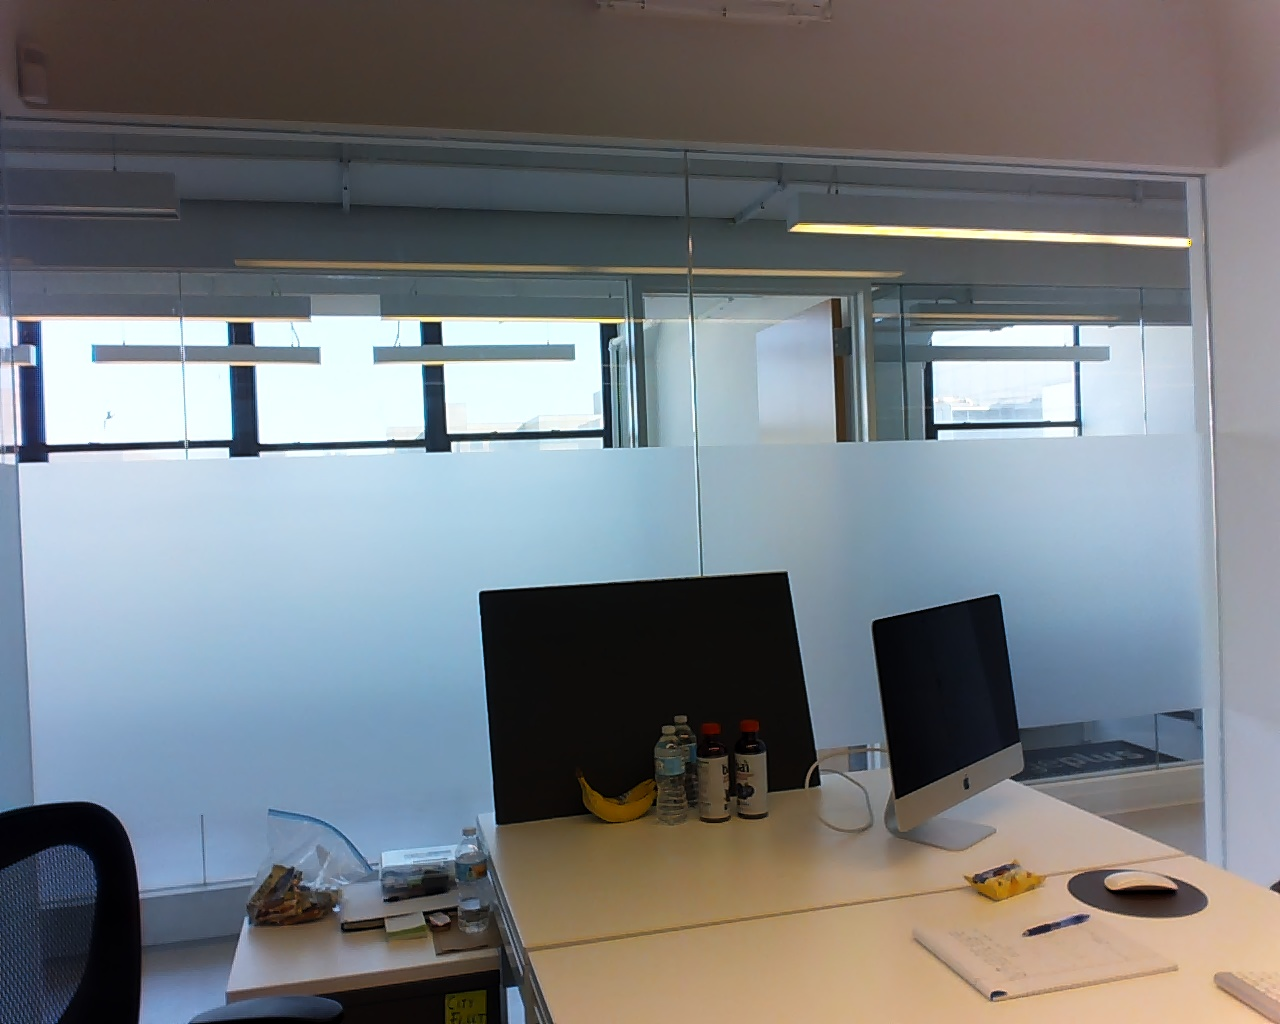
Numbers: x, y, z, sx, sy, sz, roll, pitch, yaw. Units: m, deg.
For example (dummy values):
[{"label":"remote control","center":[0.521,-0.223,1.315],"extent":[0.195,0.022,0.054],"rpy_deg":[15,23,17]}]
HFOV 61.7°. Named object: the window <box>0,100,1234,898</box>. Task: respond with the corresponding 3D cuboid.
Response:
[{"label":"window","center":[0.060,-0.080,2.500],"extent":[3.079,1.550,0.110],"rpy_deg":[-2,1,-15]}]
